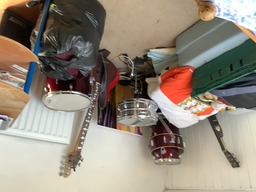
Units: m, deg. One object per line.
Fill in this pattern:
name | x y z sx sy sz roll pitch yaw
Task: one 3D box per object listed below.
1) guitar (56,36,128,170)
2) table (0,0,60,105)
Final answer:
guitar | -0.320 0.090 1.980 0.340 1.100 0.530 18 152 -31
table | -0.640 -0.400 1.100 0.460 0.800 0.140 18 152 -32
